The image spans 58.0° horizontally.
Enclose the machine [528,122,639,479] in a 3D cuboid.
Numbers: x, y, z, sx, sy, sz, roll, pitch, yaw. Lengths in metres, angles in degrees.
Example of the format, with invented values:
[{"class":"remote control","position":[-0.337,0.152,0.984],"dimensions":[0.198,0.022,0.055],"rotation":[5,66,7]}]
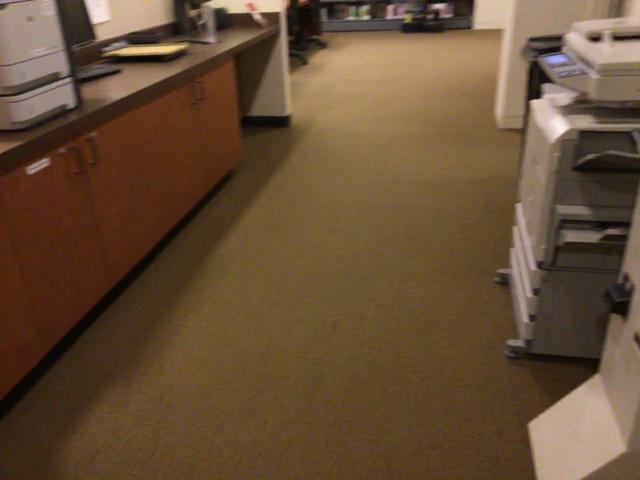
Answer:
[{"class":"machine","position":[0.810,0.230,1.410],"dimensions":[0.420,0.950,0.410],"rotation":[4,21,11]}]
